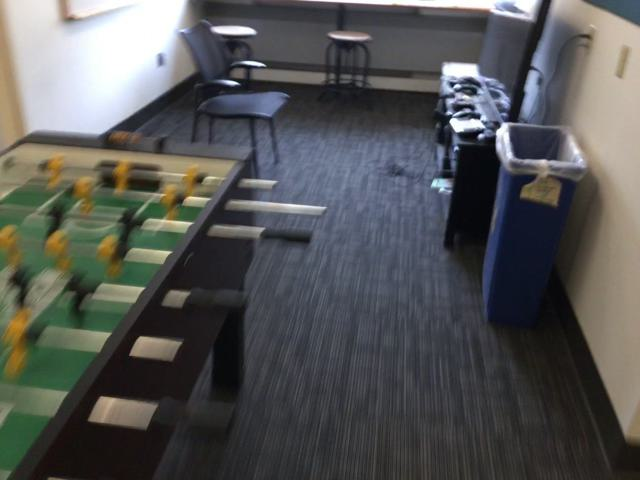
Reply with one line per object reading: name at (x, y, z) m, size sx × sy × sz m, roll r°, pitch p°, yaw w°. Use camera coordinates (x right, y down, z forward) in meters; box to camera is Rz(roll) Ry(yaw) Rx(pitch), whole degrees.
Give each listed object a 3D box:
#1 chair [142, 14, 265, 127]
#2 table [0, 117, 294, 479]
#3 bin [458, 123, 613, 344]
chair at (-0.680, -1.060, 3.560) m, size 0.590 × 0.520 × 0.580 m, roll 5°, pitch 29°, yaw 3°
table at (-0.740, 0.370, 1.370) m, size 1.160 × 0.870 × 1.480 m, roll 5°, pitch 29°, yaw 3°
bin at (0.850, -0.040, 2.430) m, size 0.350 × 0.740 × 0.530 m, roll 5°, pitch 29°, yaw 3°
